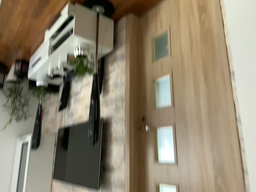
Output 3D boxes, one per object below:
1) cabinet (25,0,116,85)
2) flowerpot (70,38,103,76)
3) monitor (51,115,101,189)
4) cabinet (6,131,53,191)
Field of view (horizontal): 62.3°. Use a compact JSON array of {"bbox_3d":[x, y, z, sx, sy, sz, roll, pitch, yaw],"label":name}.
[{"bbox_3d":[-0.760,-0.520,2.530,0.500,0.340,1.400,12,160,-37],"label":"cabinet"},{"bbox_3d":[-0.400,-0.370,2.050,0.190,0.240,0.270,12,160,-37],"label":"flowerpot"},{"bbox_3d":[-0.620,0.610,2.360,0.040,0.650,1.100,12,161,-37],"label":"monitor"},{"bbox_3d":[-1.460,1.090,3.090,0.340,1.060,0.820,12,160,-37],"label":"cabinet"}]
